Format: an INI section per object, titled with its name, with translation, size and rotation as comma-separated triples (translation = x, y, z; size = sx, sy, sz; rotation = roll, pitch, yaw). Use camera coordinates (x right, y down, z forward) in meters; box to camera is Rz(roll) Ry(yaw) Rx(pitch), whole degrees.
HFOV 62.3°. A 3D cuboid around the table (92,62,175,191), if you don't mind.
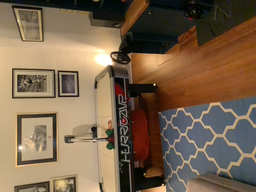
[table]
translation = 0.000, 0.630, 3.530
size = 1.220, 0.860, 2.090
rotation = 163, 105, -68
